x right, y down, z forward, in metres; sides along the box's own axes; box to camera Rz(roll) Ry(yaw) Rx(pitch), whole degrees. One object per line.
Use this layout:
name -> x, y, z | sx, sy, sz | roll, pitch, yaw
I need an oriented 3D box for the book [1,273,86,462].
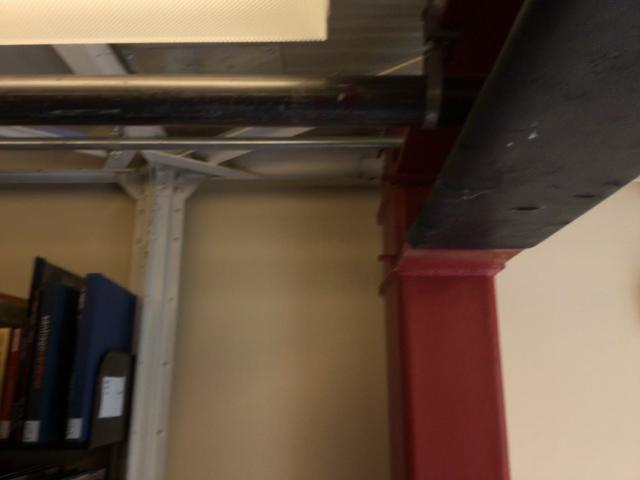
book -> -0.500, 0.230, 1.060 | 0.050, 0.320, 0.120 | 0, -15, 2
